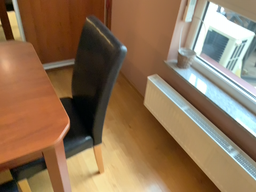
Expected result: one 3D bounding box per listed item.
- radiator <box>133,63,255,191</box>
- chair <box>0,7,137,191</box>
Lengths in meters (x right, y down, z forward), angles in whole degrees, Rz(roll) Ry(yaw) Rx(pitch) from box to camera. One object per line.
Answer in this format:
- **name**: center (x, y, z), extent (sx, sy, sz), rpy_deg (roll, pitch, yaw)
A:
- **radiator**: center (0.600, 0.440, 1.310), extent (0.160, 0.370, 1.820), rpy_deg (-18, 47, -27)
- **chair**: center (-0.390, 0.110, 1.240), extent (0.590, 1.020, 0.480), rpy_deg (-17, 47, -26)
